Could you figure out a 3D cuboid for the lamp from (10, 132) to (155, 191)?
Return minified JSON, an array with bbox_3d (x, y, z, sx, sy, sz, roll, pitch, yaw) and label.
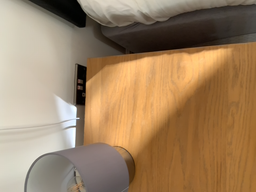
[{"bbox_3d":[-0.090,0.200,0.500,0.230,0.240,0.180,3,87,25],"label":"lamp"}]
